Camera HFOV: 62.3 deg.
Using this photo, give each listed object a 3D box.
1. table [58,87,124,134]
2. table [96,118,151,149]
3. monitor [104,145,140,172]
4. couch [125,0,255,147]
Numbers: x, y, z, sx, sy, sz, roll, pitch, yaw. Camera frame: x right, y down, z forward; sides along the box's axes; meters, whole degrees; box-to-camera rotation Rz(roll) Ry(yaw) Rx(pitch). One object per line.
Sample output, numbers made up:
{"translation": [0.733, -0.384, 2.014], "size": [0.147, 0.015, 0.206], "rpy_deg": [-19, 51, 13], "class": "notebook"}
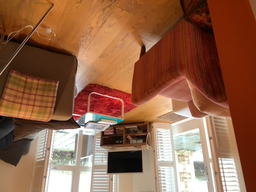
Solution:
{"translation": [-0.610, 0.280, 3.330], "size": [0.600, 0.340, 1.100], "rpy_deg": [15, 152, -31], "class": "table"}
{"translation": [-0.080, 0.780, 4.300], "size": [1.020, 0.480, 0.440], "rpy_deg": [-6, 156, 12], "class": "table"}
{"translation": [-0.120, 1.210, 4.100], "size": [0.700, 0.460, 0.050], "rpy_deg": [-6, 156, 14], "class": "monitor"}
{"translation": [0.540, -0.150, 1.670], "size": [0.780, 0.880, 0.930], "rpy_deg": [12, 153, -27], "class": "couch"}
